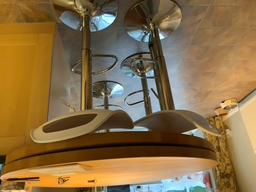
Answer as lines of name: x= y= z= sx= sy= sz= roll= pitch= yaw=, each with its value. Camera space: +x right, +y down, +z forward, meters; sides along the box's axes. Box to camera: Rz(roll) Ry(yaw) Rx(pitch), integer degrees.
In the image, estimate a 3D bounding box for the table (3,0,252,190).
table: x=-0.060 y=0.060 z=1.460 sx=0.970 sy=0.940 sz=0.980 roll=-1 pitch=153 yaw=-9
